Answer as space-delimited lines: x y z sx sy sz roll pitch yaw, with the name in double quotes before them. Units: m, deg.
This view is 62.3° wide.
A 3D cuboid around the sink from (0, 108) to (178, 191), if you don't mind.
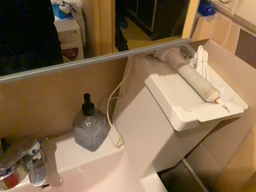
"sink" -0.190 0.310 0.560 0.590 0.170 0.420 -16 46 -20
